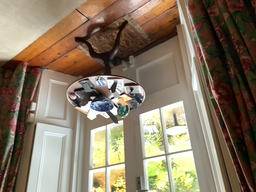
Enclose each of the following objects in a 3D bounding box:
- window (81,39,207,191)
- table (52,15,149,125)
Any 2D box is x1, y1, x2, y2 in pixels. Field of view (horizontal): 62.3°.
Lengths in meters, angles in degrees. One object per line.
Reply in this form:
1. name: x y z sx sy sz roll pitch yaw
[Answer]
1. window: 0.030 0.640 1.700 1.120 2.140 0.090 -23 147 32
2. table: -0.240 -0.180 1.890 0.630 0.640 0.490 -23 147 32
